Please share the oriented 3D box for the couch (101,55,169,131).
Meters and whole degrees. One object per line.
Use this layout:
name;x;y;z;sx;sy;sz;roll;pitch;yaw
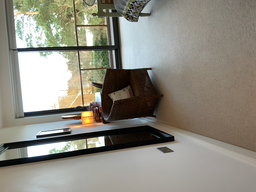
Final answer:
couch;0.040;-0.050;3.050;0.700;0.720;0.760;100;159;-48
